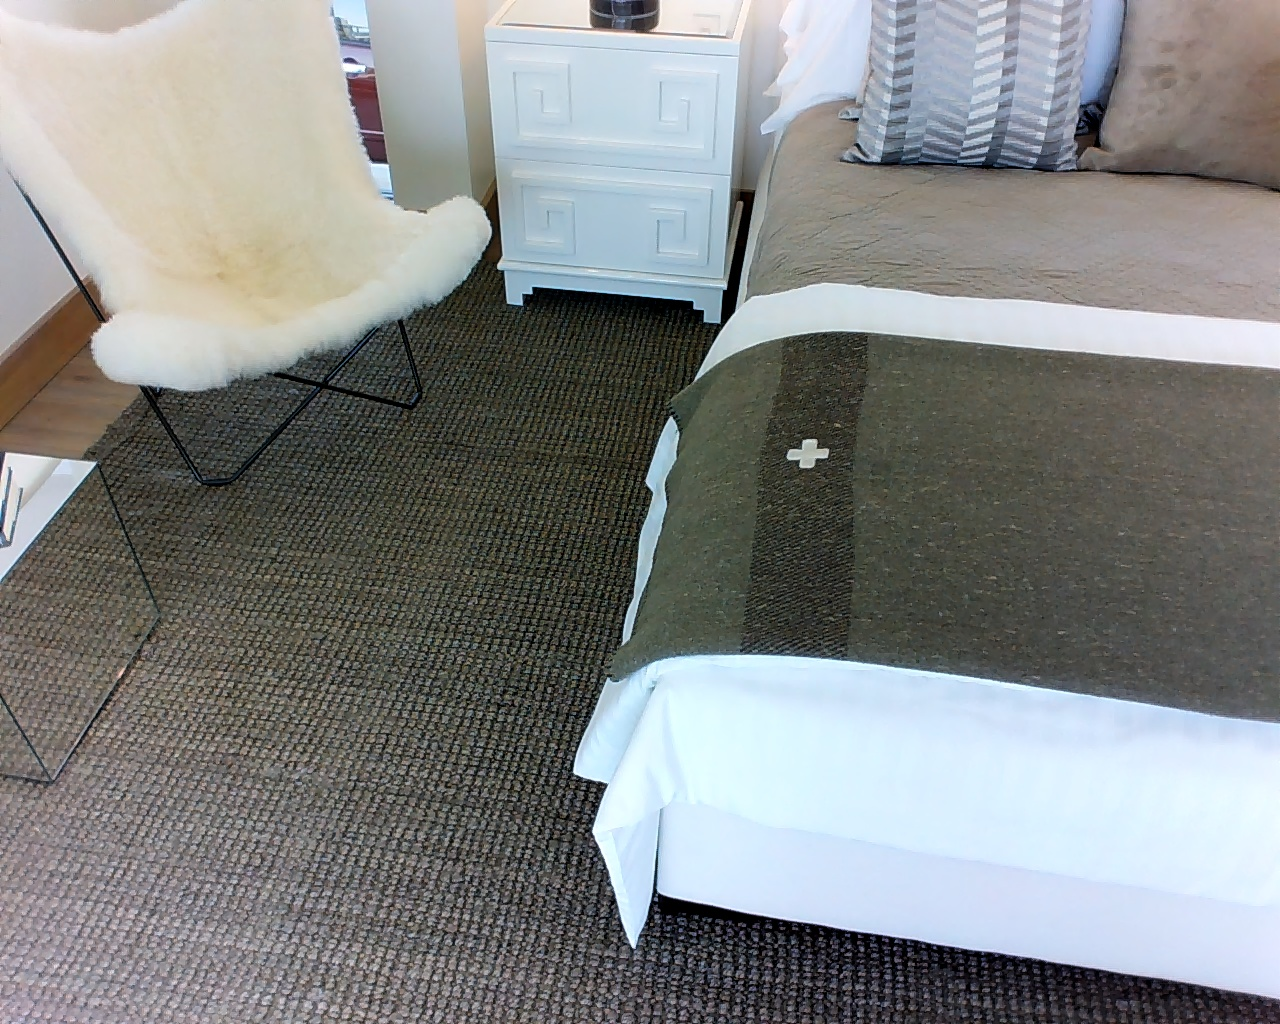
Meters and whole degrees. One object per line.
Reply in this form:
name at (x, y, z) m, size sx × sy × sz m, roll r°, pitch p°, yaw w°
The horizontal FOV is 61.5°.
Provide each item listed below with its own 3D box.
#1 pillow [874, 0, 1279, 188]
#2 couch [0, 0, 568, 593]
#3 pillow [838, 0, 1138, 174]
pillow at (1.020, -0.980, 2.180) m, size 1.010 × 0.410 × 0.490 m, roll 7°, pitch 42°, yaw 6°
couch at (-0.890, -0.690, 2.400) m, size 1.000 × 1.010 × 1.040 m, roll -29°, pitch 50°, yaw -29°
pillow at (0.670, -0.950, 2.130) m, size 0.490 × 0.420 × 0.280 m, roll 7°, pitch 42°, yaw 6°
